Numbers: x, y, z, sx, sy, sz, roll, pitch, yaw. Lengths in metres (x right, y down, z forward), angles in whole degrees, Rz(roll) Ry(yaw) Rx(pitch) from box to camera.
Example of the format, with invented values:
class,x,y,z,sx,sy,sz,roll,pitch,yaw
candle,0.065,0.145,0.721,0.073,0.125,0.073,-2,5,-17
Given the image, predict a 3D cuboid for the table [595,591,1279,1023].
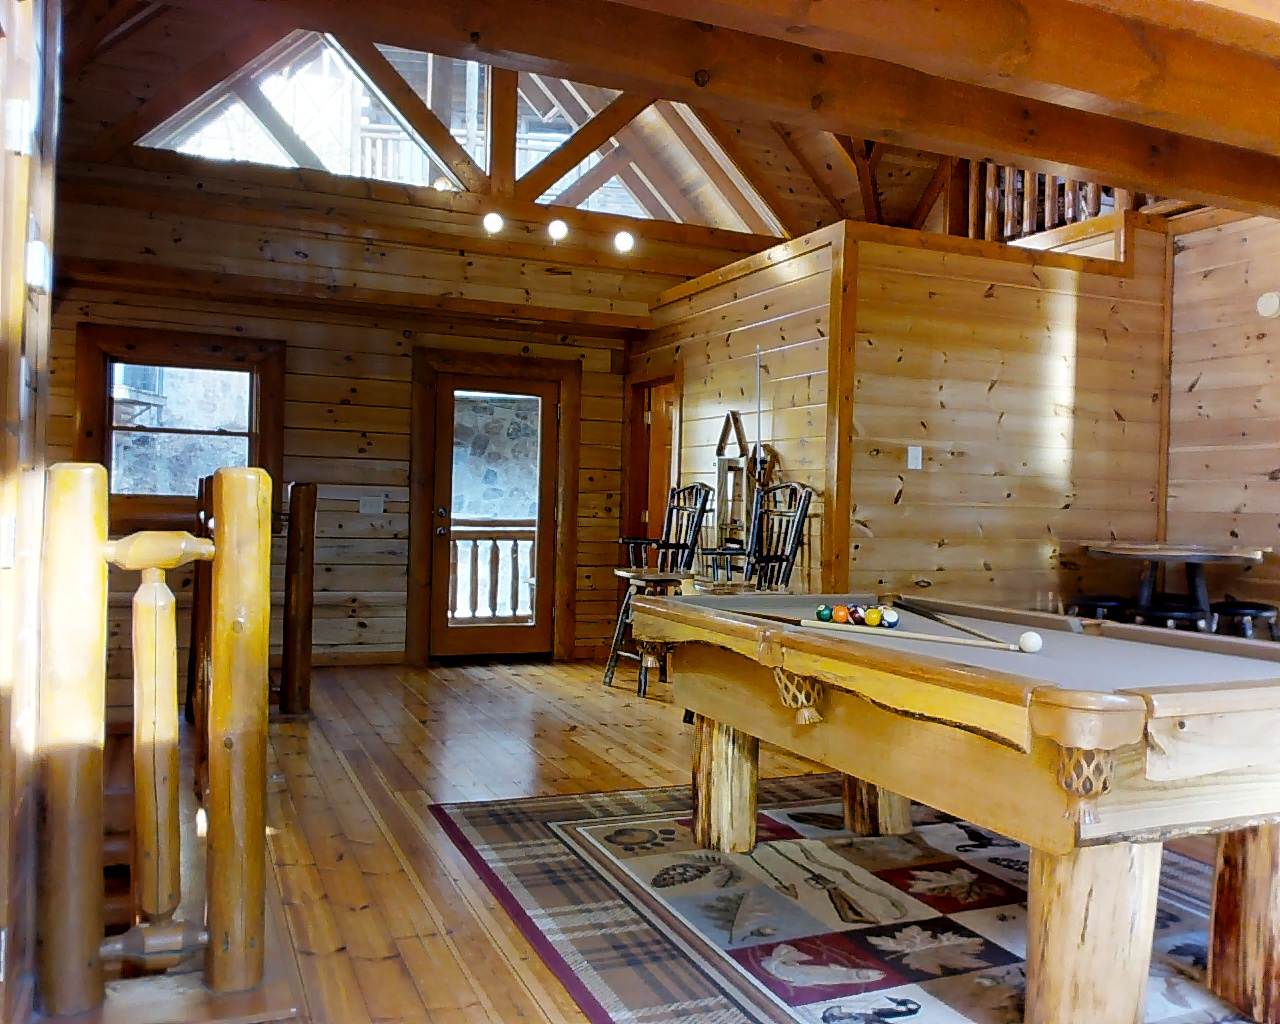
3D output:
class,x,y,z,sx,sy,sz,roll,pitch,yaw
table,0.890,0.760,3.130,1.320,0.880,2.210,2,0,-23
